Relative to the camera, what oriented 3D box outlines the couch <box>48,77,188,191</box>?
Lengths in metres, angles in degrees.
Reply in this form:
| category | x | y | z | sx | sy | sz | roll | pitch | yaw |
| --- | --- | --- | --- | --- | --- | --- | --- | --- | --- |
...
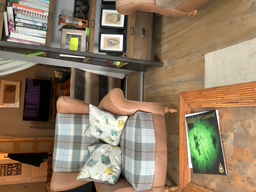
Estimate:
| category | x | y | z | sx | sy | sz | roll | pitch | yaw |
| --- | --- | --- | --- | --- | --- | --- | --- | --- | --- |
| couch | -0.150 | 0.450 | 1.980 | 0.920 | 0.980 | 0.980 | -17 | 71 | 63 |
